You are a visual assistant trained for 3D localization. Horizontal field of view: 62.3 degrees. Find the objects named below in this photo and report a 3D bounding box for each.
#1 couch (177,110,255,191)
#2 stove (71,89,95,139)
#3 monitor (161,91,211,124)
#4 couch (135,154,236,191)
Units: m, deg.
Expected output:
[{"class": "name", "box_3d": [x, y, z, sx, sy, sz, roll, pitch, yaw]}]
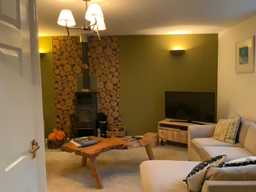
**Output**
[{"class": "couch", "box_3d": [1.360, 0.750, 2.590, 1.000, 0.810, 2.190, 0, 5, 0]}, {"class": "stove", "box_3d": [-0.940, 0.370, 4.490, 0.430, 1.000, 0.370, 0, 5, -1]}, {"class": "monitor", "box_3d": [1.120, 0.210, 4.200, 0.960, 0.600, 0.050, 3, 6, 30]}, {"class": "couch", "box_3d": [0.470, 0.970, 2.020, 0.780, 0.470, 1.010, 0, 5, 0]}]
